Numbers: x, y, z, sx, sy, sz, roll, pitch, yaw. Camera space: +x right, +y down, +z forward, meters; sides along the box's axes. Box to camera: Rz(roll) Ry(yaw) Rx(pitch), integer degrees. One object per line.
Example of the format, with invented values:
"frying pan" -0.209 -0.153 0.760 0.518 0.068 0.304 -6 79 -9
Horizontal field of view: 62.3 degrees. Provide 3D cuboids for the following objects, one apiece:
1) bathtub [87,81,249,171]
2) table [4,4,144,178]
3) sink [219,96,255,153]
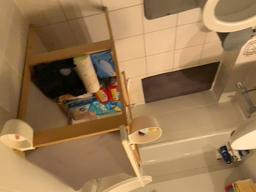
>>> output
"bathtub" 0.430 0.420 2.670 1.700 0.560 0.700 -13 148 3
"table" -0.290 0.010 1.490 0.580 0.860 0.750 -13 148 3
"sink" 0.990 0.210 1.580 0.420 0.190 0.590 -13 148 3
